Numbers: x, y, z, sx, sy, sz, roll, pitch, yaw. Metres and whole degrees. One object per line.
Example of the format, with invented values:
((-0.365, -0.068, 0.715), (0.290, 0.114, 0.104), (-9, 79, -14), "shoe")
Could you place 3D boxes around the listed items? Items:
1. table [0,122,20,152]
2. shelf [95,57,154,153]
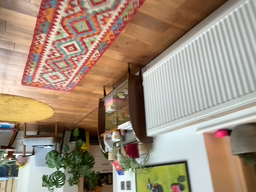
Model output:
((-2.460, 0.810, 4.120), (0.560, 0.470, 0.550), (9, 156, -30), "table")
((-0.090, 0.150, 2.310), (0.220, 0.810, 0.810), (9, 156, -30), "shelf")
